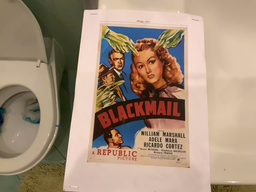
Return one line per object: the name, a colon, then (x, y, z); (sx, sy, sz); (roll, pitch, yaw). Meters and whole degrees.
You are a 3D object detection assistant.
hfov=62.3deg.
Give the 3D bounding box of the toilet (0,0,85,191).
toilet: (-0.460, 0.020, 0.810); (0.370, 0.840, 0.540); (3, 77, 1)
